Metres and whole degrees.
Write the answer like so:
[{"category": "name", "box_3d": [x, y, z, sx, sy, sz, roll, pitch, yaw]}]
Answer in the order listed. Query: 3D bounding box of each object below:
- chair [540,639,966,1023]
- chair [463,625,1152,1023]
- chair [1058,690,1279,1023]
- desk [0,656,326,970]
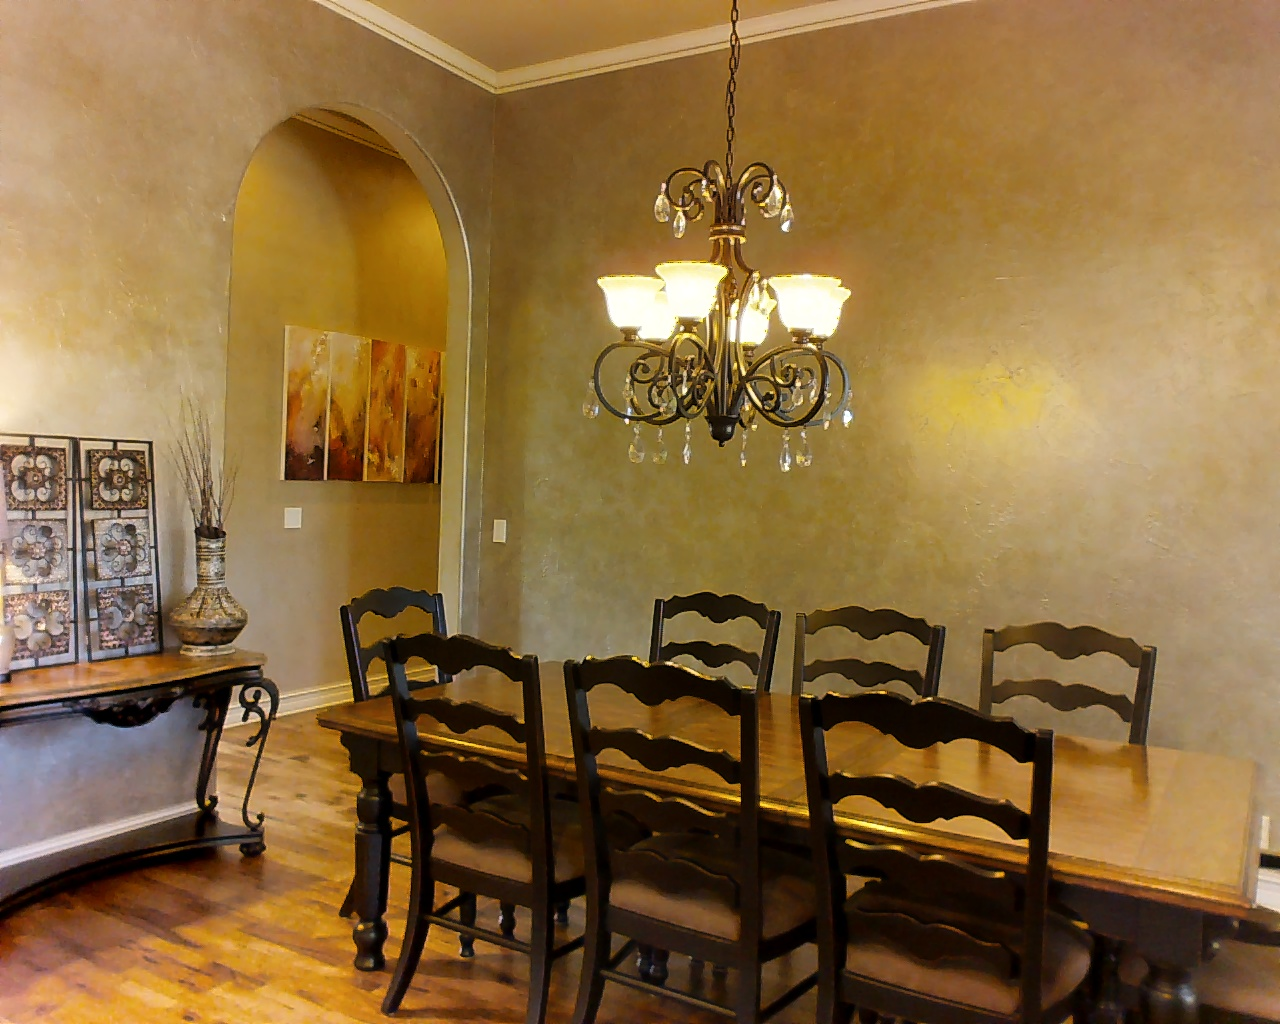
[{"category": "chair", "box_3d": [0.270, 0.910, 2.620, 0.830, 1.060, 0.570, 3, 1, 36]}, {"category": "chair", "box_3d": [0.380, 0.910, 2.620, 1.470, 1.070, 0.710, 3, 1, 32]}, {"category": "chair", "box_3d": [1.390, 0.990, 2.440, 0.690, 0.990, 0.700, 3, 1, 31]}, {"category": "desk", "box_3d": [-1.840, 0.990, 3.780, 0.490, 0.760, 1.410, 3, 1, 31]}]
